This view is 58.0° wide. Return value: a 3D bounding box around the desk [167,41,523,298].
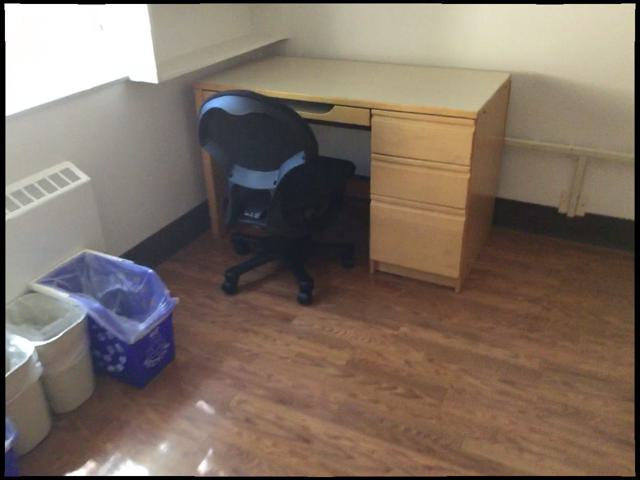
[{"bbox_3d":[0.130,-0.411,2.690,1.338,0.771,0.770,13,34,24],"label":"desk"}]
